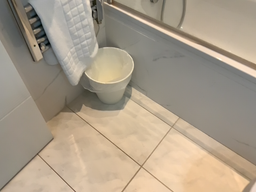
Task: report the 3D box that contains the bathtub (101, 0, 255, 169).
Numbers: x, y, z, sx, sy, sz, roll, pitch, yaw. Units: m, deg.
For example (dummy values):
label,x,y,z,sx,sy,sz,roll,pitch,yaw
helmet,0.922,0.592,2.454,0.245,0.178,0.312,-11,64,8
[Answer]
label,x,y,z,sx,sy,sz,roll,pitch,yaw
bathtub,0.720,-0.090,1.140,1.670,0.520,0.670,33,59,20

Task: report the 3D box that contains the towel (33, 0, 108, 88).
label,x,y,z,sx,sy,sz,roll,pitch,yaw
towel,-0.230,-0.280,0.980,0.120,0.440,0.250,35,60,21

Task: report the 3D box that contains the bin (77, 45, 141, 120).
label,x,y,z,sx,sy,sz,roll,pitch,yaw
bin,-0.110,-0.080,1.290,0.240,0.280,0.260,38,61,23
